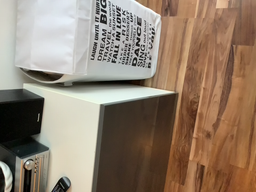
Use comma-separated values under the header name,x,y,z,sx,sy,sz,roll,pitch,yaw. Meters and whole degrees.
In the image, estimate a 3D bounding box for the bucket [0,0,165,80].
name,x,y,z,sx,sy,sz,roll,pitch,yaw
bucket,-0.160,-0.330,1.010,0.370,0.670,0.450,13,101,31
